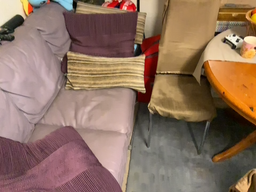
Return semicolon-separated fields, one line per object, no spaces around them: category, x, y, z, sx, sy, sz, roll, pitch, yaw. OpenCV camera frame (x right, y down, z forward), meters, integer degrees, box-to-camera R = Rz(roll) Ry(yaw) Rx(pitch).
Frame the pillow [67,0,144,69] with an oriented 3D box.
pillow;-0.200;-0.560;1.920;0.560;0.380;0.210;25;40;-15

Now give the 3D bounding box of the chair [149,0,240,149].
chair;0.390;-0.140;1.580;0.410;0.960;0.570;3;43;6

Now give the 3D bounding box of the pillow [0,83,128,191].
pillow;-0.430;0.360;1.000;0.610;0.390;0.590;-31;50;-28

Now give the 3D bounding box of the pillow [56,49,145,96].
pillow;-0.190;-0.200;1.730;0.650;0.220;0.330;2;43;5

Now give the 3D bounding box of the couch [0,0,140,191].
couch;-0.460;0.050;1.490;0.960;0.850;1.940;3;43;6
